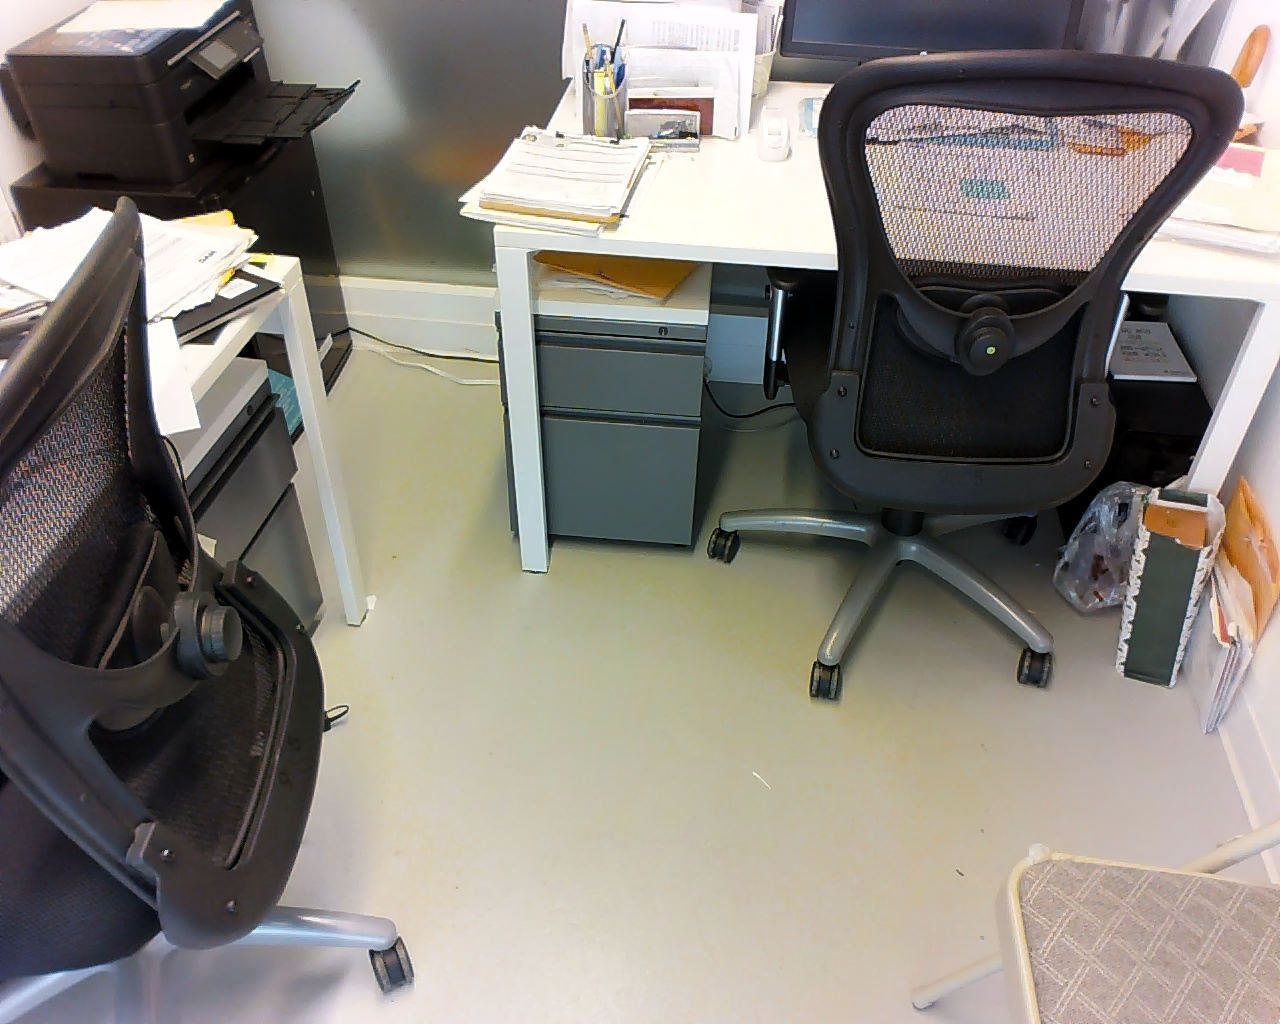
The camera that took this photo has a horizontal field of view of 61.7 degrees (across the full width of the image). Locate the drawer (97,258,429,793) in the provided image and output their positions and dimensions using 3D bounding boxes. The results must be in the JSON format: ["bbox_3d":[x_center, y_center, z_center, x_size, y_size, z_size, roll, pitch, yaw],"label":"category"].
[{"bbox_3d":[-0.540,0.030,1.710,0.190,0.690,0.490,5,41,5],"label":"drawer"}]

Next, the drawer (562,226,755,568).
[{"bbox_3d":[0.040,-0.210,2.080,0.320,0.600,0.260,4,40,4],"label":"drawer"}]
